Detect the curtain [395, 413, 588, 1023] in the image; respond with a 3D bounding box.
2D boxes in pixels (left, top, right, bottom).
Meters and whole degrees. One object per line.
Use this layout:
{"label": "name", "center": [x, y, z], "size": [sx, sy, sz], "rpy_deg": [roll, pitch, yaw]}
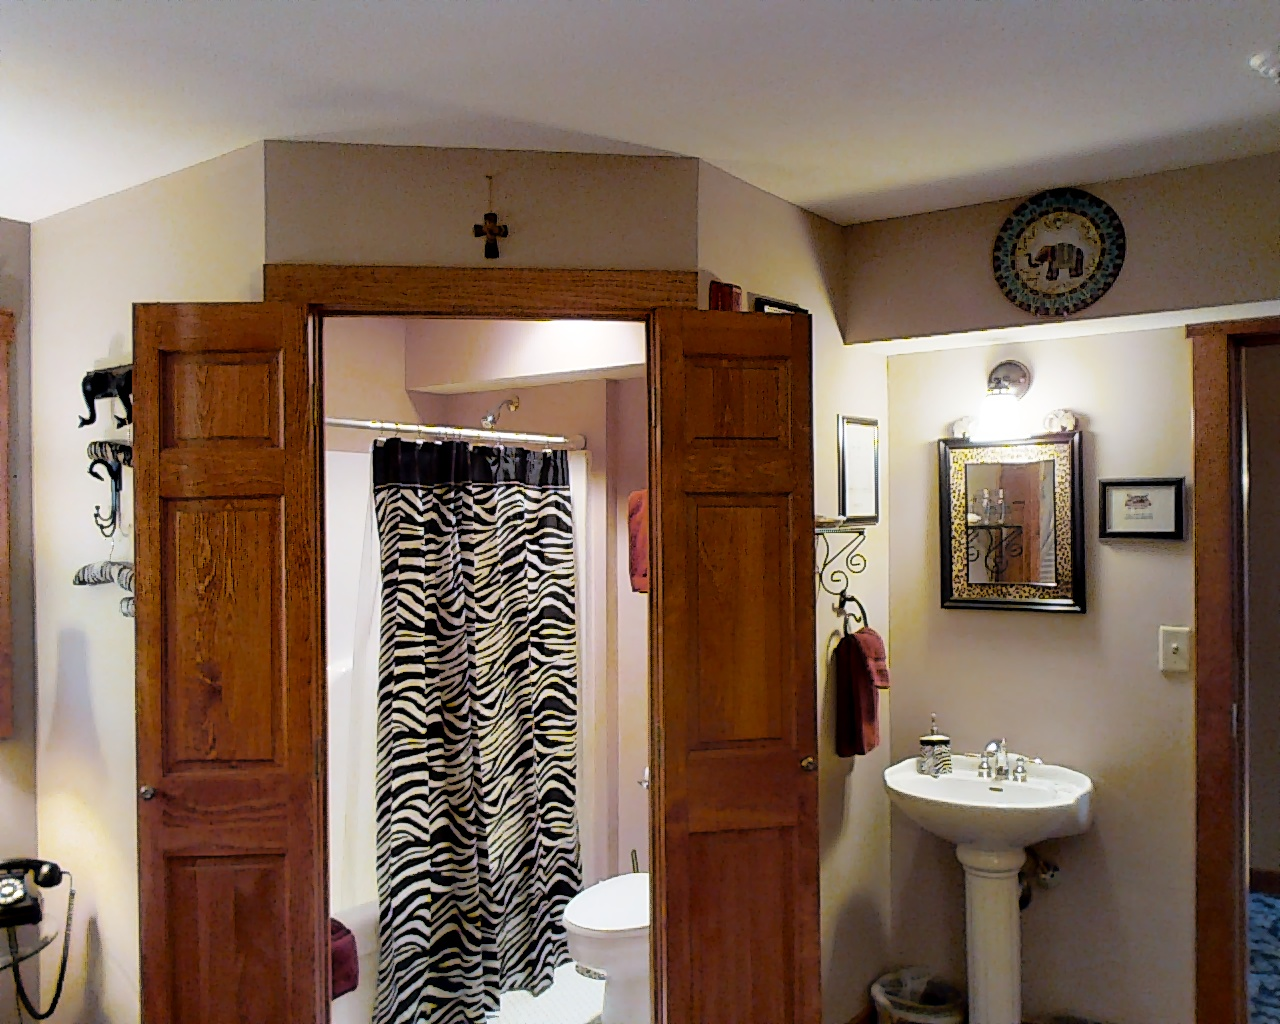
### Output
{"label": "curtain", "center": [-0.460, 0.640, 3.460], "size": [0.180, 1.860, 0.640], "rpy_deg": [-1, 0, 37]}
